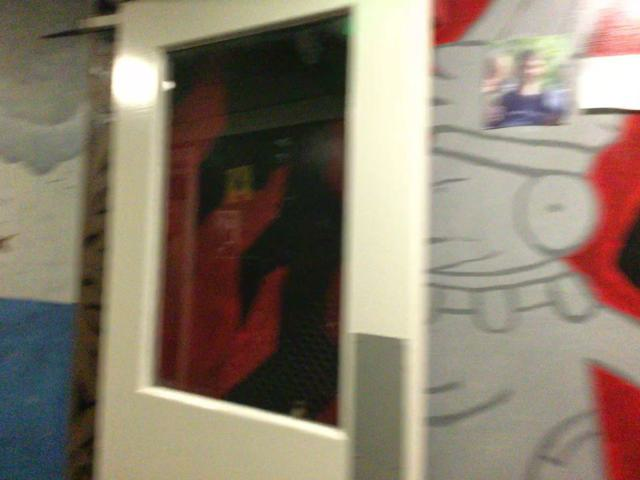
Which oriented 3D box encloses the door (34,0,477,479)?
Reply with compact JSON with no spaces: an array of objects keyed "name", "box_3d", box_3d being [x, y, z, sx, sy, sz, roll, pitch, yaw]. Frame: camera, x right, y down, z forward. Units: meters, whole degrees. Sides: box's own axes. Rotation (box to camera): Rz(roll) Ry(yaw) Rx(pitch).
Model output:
[{"name":"door","box_3d":[-0.150,0.480,1.100,0.840,2.150,0.210,-1,-5,23]}]
